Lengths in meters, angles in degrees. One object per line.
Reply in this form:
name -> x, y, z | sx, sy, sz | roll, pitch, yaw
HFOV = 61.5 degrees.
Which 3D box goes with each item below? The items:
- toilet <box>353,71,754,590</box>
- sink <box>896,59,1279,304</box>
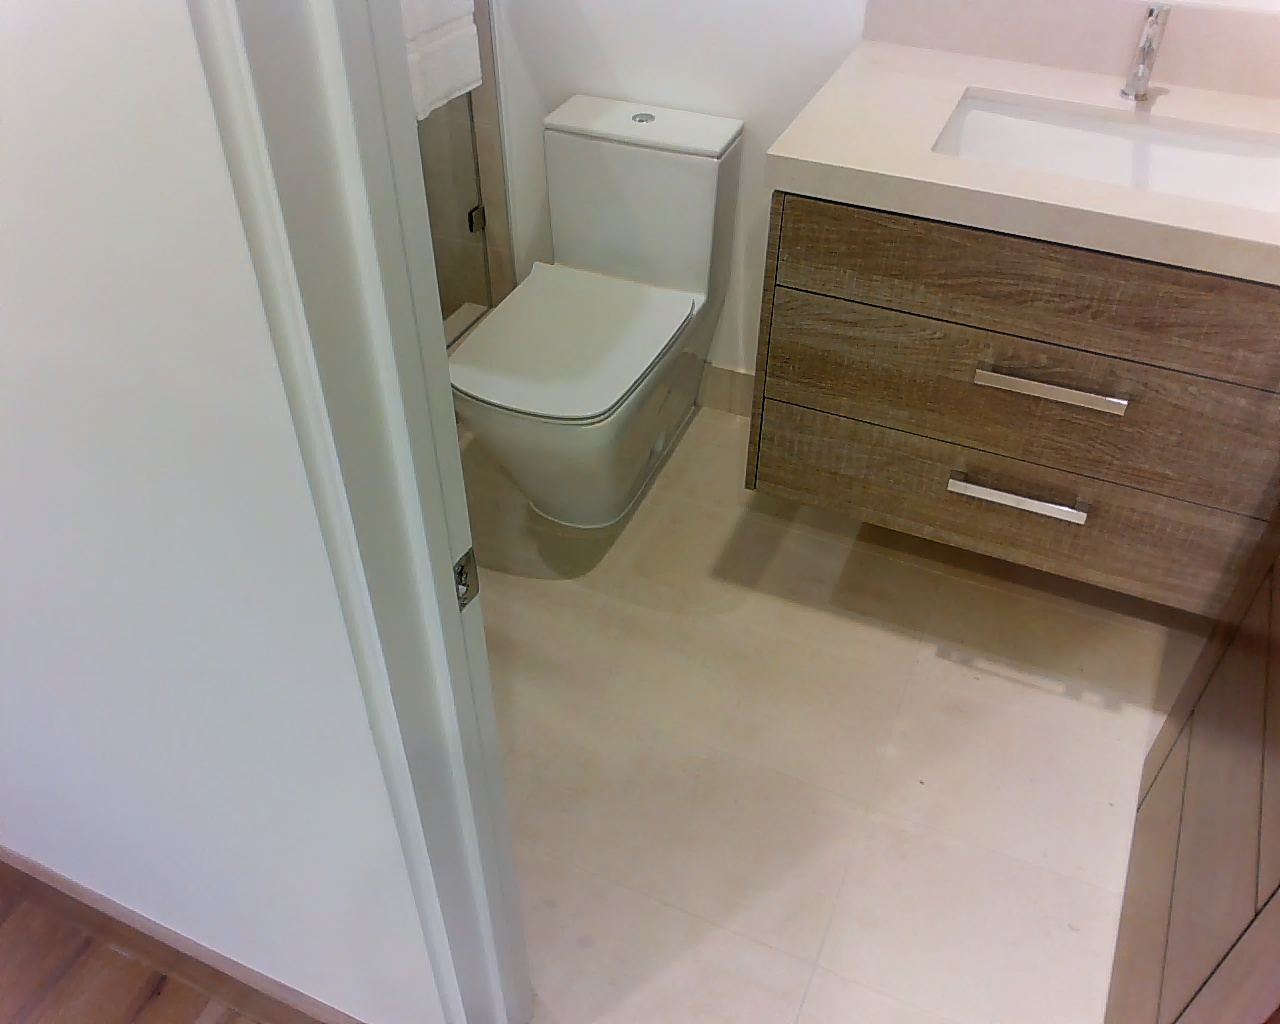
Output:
toilet -> -0.130, -0.400, 2.270 | 0.480, 0.740, 0.720 | 16, 44, 17
sink -> 0.750, -0.540, 1.710 | 0.590, 0.170, 0.320 | 16, 44, 17
